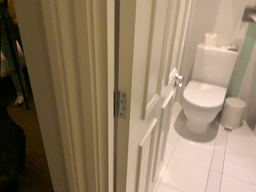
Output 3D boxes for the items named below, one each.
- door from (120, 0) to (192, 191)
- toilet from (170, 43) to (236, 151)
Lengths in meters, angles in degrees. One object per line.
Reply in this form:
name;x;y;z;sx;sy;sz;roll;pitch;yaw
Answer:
door;0.160;-0.080;1.030;0.030;2.020;0.790;15;32;20
toilet;0.750;-0.020;2.130;0.370;0.810;0.650;16;33;22
